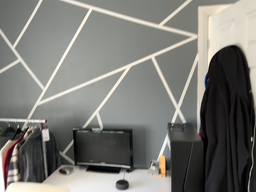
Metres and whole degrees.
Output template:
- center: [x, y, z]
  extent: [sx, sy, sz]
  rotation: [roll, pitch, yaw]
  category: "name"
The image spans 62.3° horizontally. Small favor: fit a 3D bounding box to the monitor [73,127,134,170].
- center: [-0.210, 0.450, 1.820]
  extent: [0.520, 0.350, 0.030]
  rotation: [0, 6, 9]
  category: "monitor"
